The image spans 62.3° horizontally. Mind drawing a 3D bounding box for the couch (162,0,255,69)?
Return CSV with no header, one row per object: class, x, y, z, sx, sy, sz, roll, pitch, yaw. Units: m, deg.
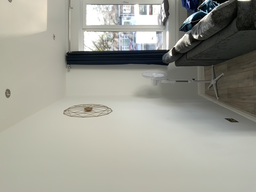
couch,1.030,-1.020,2.590,2.350,0.820,1.060,178,92,-89
